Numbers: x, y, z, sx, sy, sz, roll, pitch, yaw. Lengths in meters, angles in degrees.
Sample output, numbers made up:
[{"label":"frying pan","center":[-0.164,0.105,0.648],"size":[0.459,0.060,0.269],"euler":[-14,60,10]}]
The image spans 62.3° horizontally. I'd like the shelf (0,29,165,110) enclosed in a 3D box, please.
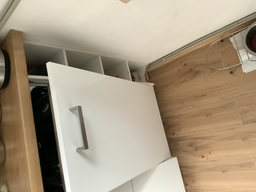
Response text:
[{"label":"shelf","center":[-0.300,-0.080,1.250],"size":[0.620,0.910,0.150],"euler":[-21,77,41]}]
